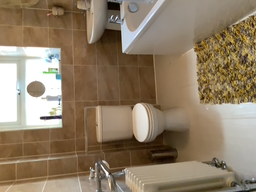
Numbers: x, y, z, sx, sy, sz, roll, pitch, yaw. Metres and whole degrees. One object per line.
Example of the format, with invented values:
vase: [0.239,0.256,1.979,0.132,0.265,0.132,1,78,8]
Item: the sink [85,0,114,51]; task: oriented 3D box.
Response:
sink: [-0.310,-0.770,2.150,0.580,0.180,0.440,154,114,-72]
